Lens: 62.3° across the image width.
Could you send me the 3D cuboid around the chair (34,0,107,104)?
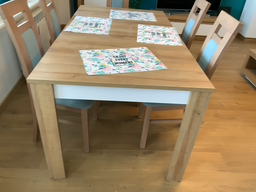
[{"bbox_3d":[-0.470,-0.450,1.980,0.520,0.980,0.440,1,35,-7],"label":"chair"}]
